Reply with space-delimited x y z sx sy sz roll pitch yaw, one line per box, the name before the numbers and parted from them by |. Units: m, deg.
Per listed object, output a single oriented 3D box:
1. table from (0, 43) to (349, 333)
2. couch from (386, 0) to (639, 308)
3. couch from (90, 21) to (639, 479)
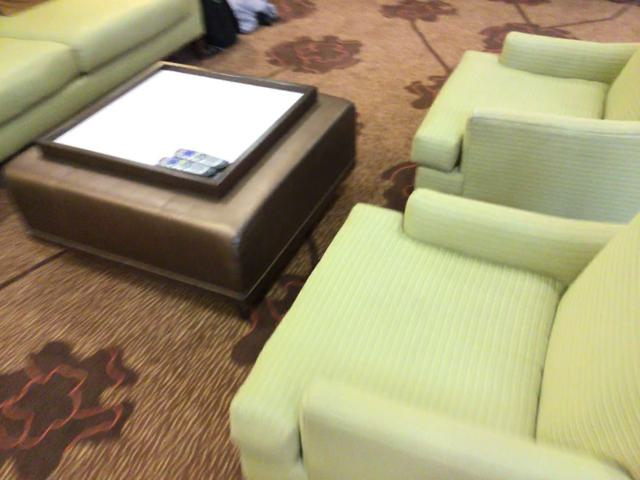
table | -0.450 -0.260 2.080 0.820 0.470 0.890 15 44 21
couch | 0.810 -0.450 1.890 0.950 0.900 0.760 15 44 21
couch | 0.320 0.220 1.150 0.950 0.910 0.800 17 45 22
